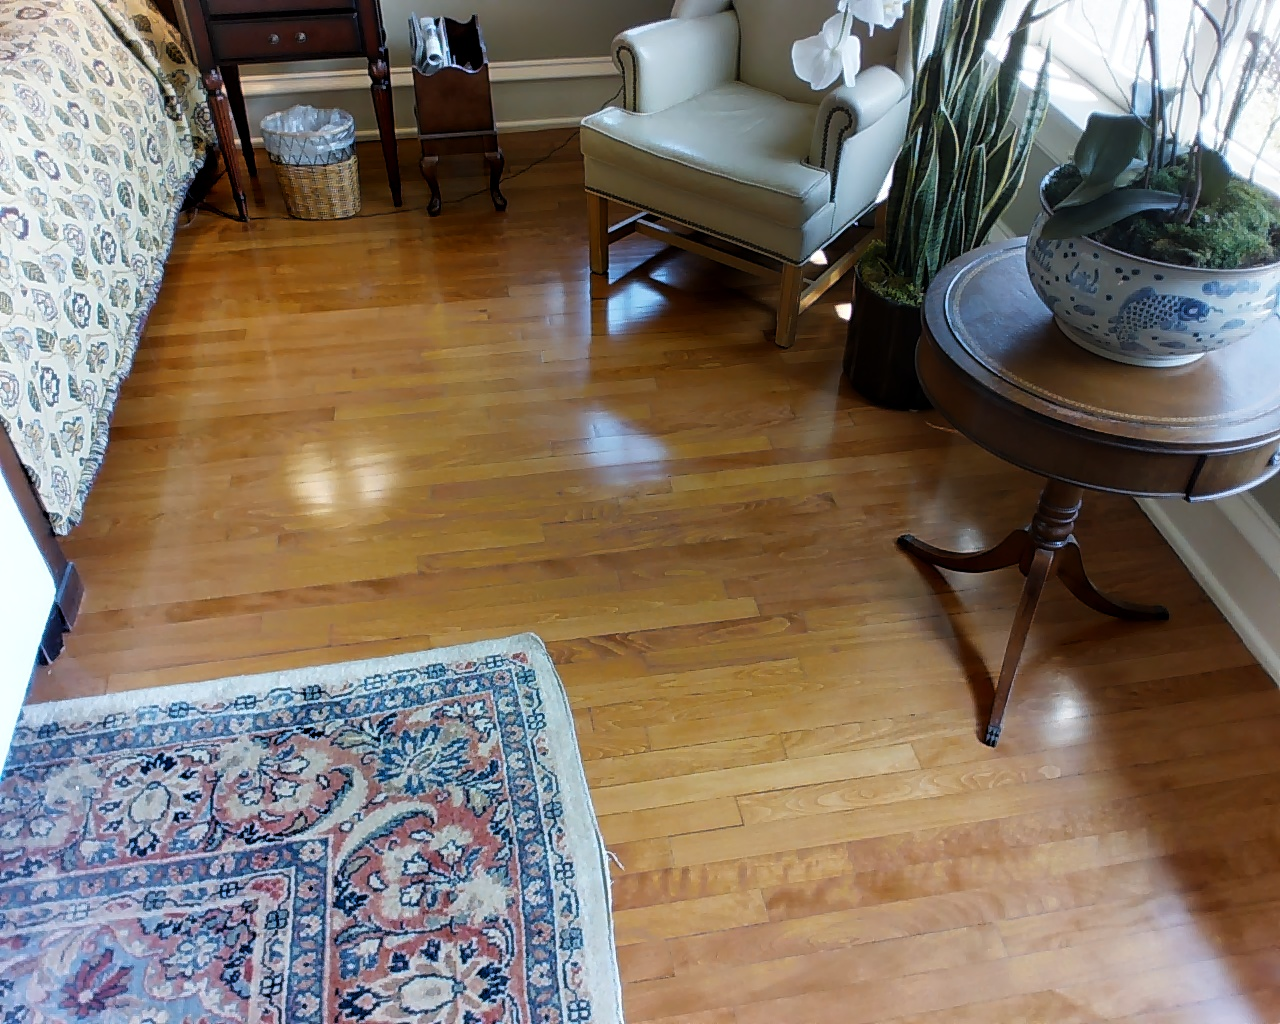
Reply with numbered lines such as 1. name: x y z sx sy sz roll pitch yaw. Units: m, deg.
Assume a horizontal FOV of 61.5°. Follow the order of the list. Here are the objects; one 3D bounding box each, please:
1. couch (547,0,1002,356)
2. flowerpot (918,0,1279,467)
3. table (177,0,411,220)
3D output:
1. couch: 0.380 -1.240 2.910 0.830 1.110 0.950 26 47 26
2. flowerpot: 0.770 -0.440 1.430 0.570 0.540 0.470 -5 42 -6
3. table: -1.060 -1.460 3.420 0.540 0.780 0.670 -5 42 -6
